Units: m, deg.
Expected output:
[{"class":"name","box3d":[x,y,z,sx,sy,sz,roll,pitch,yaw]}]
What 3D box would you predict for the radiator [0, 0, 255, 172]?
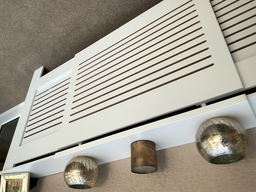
[{"class":"radiator","box3d":[-0.010,-0.130,1.060,1.680,0.710,0.120,-21,141,27]}]
